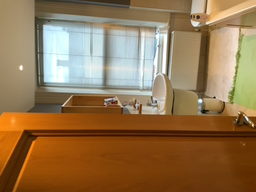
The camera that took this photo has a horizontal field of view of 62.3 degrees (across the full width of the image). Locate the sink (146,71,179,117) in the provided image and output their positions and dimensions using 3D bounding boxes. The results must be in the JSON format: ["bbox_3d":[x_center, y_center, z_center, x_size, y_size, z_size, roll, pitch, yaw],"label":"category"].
[{"bbox_3d":[0.390,-0.050,2.540,0.580,0.180,0.490,-142,55,-79],"label":"sink"}]
